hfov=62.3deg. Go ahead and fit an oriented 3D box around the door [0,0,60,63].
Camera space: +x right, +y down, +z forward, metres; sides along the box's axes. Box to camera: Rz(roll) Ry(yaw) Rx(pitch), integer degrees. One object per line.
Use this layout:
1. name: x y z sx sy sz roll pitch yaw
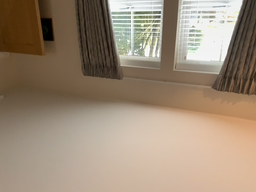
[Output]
1. door: -1.260 -1.450 2.370 0.860 2.080 0.130 8 -158 20
